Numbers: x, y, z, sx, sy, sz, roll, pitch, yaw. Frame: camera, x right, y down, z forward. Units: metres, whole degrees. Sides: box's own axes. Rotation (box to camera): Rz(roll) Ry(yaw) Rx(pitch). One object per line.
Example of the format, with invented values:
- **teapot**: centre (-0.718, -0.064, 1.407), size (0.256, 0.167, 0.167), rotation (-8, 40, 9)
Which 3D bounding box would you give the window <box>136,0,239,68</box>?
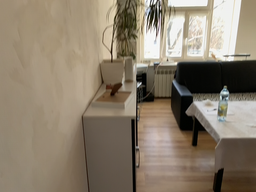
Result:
- **window**: centre (1.160, -1.480, 4.420), size (2.000, 1.750, 0.280), rotation (0, 19, 2)
